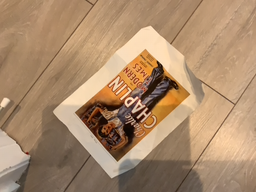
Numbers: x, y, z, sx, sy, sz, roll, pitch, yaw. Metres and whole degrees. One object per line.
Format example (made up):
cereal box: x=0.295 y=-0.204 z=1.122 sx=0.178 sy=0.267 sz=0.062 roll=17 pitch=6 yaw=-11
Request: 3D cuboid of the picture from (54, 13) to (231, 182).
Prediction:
picture: x=0.030 y=0.000 z=0.450 sx=0.290 sy=0.040 sz=0.210 roll=-38 pitch=86 yaw=-3
